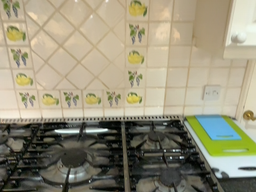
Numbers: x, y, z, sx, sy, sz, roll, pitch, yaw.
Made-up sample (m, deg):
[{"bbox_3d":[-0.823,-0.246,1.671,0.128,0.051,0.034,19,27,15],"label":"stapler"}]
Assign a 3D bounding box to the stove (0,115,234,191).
[{"bbox_3d":[-0.210,0.310,0.920,1.100,0.160,0.630,-1,23,-4],"label":"stove"}]
